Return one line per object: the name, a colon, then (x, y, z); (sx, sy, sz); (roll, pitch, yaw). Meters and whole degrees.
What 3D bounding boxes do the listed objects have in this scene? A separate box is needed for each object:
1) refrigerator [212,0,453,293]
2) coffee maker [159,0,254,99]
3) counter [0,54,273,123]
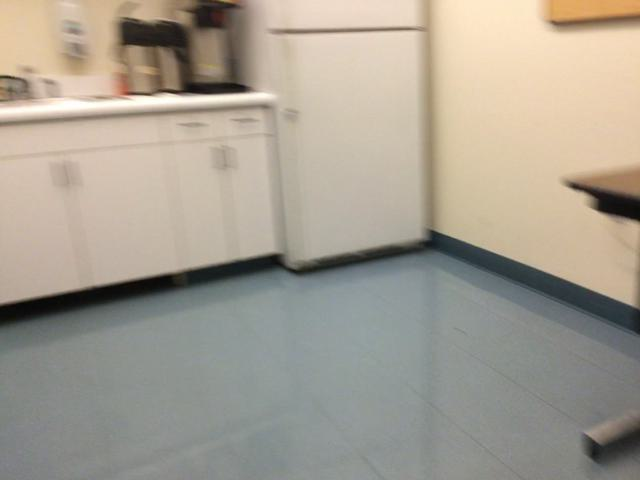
refrigerator: (0.040, -0.720, 2.920); (0.850, 1.630, 0.870); (-11, 20, -23)
coffee maker: (-0.530, -0.920, 2.690); (0.290, 0.480, 0.420); (-11, 20, -23)
counter: (-1.170, -0.630, 2.420); (1.800, 0.190, 0.710); (-12, 21, -27)
